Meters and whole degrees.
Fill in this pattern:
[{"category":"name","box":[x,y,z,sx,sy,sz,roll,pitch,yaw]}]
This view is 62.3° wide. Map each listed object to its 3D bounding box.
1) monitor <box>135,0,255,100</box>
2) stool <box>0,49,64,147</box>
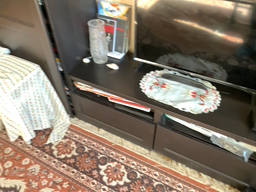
[{"category":"monitor","box":[0.370,-0.260,1.070,0.720,0.440,0.040,21,48,20]},{"category":"stool","box":[-0.680,0.020,1.360,0.290,0.480,0.310,20,48,20]}]
